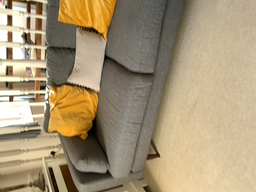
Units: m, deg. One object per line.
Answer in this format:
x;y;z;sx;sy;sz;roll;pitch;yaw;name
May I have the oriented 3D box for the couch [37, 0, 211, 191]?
-0.160;-0.330;1.630;0.960;0.840;1.800;38;123;53;couch
